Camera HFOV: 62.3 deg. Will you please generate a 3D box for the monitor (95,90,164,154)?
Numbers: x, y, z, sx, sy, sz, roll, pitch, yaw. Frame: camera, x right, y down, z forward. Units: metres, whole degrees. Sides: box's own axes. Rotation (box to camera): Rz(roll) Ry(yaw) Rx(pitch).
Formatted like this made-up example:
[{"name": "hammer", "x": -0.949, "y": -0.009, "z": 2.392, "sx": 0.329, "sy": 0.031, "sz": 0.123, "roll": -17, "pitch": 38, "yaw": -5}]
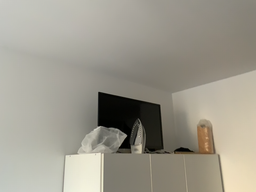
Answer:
[{"name": "monitor", "x": 0.040, "y": 0.260, "z": 1.900, "sx": 0.720, "sy": 0.500, "sz": 0.060, "roll": 13, "pitch": -21, "yaw": -38}]
